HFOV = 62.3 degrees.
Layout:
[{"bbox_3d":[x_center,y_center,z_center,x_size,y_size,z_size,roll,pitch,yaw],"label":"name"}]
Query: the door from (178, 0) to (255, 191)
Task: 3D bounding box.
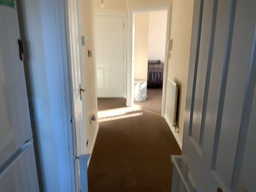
[{"bbox_3d":[0.360,0.260,1.000,0.040,1.980,0.750,1,16,3],"label":"door"}]
